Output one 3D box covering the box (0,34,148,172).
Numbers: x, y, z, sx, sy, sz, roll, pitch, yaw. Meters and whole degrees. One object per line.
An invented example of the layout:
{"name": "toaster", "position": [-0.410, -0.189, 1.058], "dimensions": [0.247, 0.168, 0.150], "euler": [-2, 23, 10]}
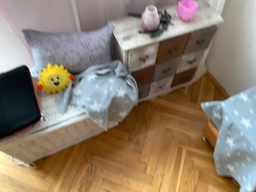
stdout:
{"name": "box", "position": [-0.390, 0.030, 1.340], "dimensions": [0.850, 0.410, 0.510], "euler": [-17, 60, -13]}
